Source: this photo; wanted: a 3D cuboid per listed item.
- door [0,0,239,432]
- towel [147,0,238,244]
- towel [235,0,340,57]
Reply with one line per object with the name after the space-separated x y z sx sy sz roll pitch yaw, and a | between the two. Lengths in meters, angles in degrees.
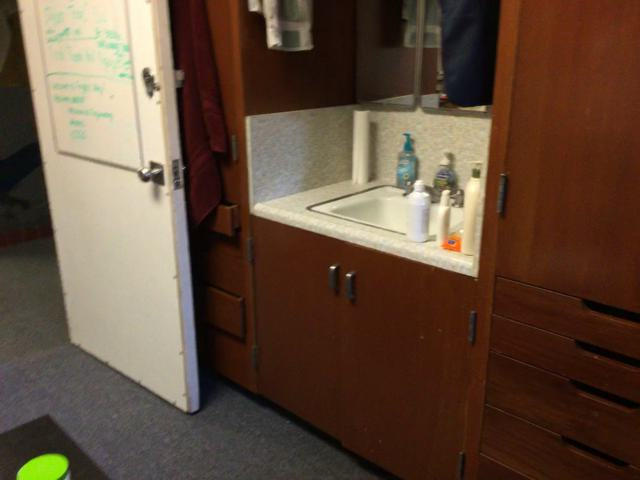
-0.810 -0.450 2.180 0.980 2.170 0.250 13 23 40 | door
-0.430 -0.590 1.880 0.230 1.200 0.100 13 23 40 | towel
-0.100 -0.800 1.810 0.140 0.420 0.320 13 23 40 | towel
